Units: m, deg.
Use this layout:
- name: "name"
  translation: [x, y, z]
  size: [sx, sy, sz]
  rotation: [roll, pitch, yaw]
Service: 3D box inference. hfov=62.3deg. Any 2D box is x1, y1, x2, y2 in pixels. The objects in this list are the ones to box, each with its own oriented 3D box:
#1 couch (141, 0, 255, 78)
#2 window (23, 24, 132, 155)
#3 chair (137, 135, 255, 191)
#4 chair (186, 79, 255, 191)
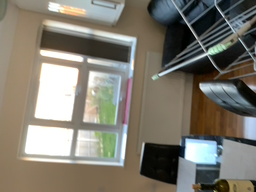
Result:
- name: "couch"
  translation: [0.800, -0.870, 2.190]
  size: [1.420, 0.840, 0.980]
  rotation: [156, 121, -73]
- name: "window"
  translation: [-0.660, -0.060, 3.000]
  size: [0.080, 1.280, 1.680]
  rotation: [169, 109, -75]
- name: "chair"
  translation: [0.630, 0.650, 1.900]
  size: [0.540, 0.940, 0.410]
  rotation: [-168, 86, -76]
- name: "chair"
  translation: [0.870, 0.220, 1.170]
  size: [0.350, 0.960, 0.470]
  rotation: [-173, 90, -76]
